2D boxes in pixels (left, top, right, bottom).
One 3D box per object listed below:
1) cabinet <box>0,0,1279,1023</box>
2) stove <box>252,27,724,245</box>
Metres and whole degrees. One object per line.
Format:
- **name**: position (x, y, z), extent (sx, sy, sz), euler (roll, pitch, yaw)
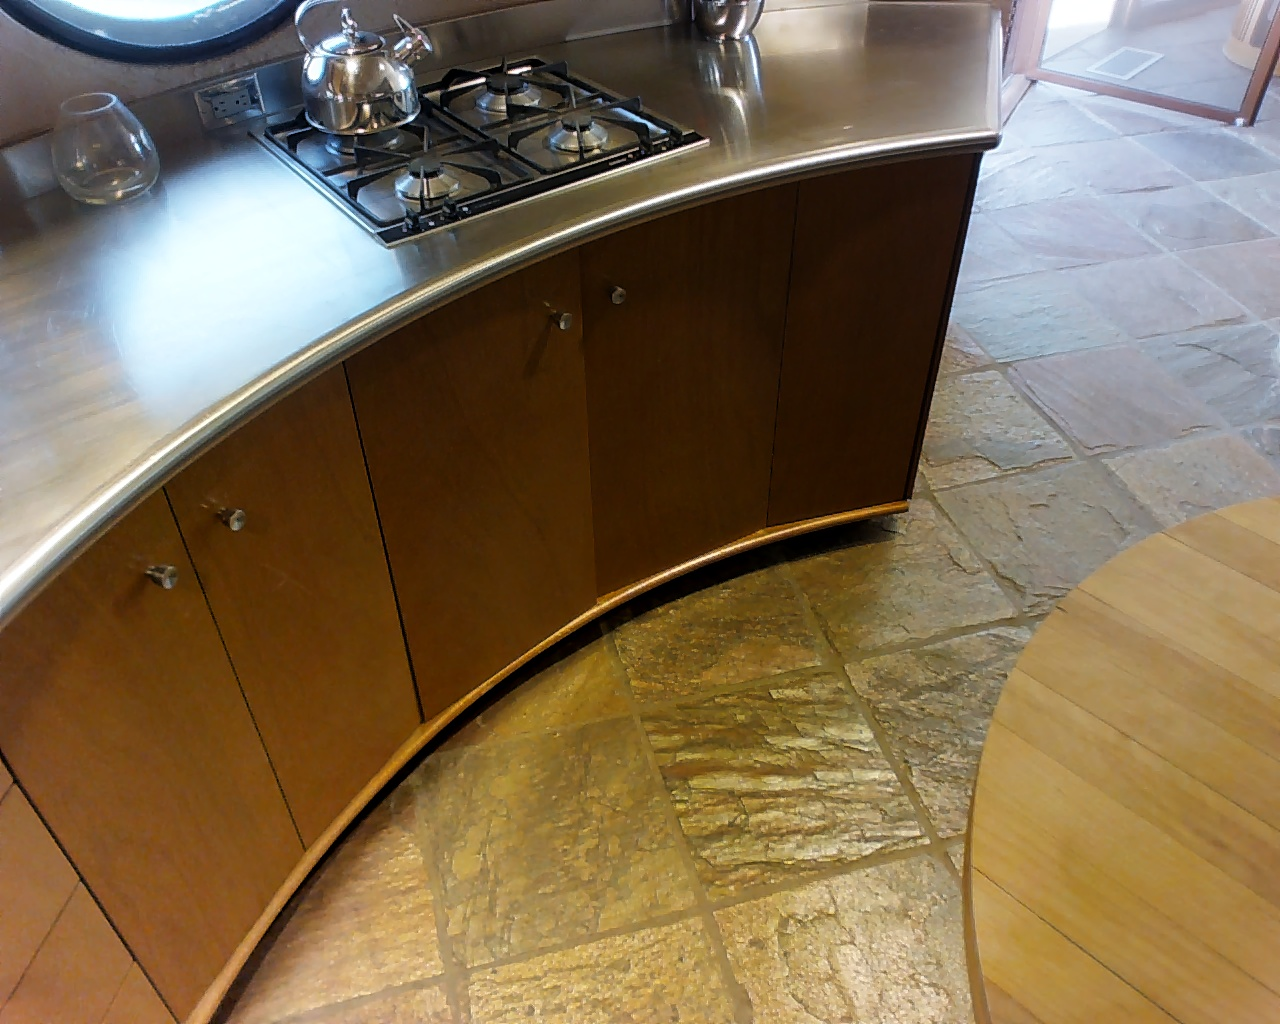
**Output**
- **cabinet**: position (-0.170, 0.650, 1.020), extent (2.019, 1.000, 4.611), euler (-3, 41, -1)
- **stove**: position (-0.260, -0.650, 1.770), extent (0.580, 0.050, 0.550), euler (-25, 46, -24)
